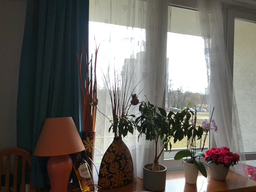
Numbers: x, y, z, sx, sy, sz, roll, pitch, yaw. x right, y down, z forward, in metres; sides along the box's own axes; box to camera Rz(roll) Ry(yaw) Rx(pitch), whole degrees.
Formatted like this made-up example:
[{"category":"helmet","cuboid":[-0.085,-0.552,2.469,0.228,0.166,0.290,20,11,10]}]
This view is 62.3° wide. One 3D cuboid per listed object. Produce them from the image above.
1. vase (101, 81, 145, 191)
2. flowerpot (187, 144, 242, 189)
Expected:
[{"category":"vase","cuboid":[-0.040,0.290,1.580,0.270,0.780,0.140,2,0,-14]},{"category":"flowerpot","cuboid":[0.730,0.580,1.810,0.330,0.280,0.260,2,0,-18]}]
